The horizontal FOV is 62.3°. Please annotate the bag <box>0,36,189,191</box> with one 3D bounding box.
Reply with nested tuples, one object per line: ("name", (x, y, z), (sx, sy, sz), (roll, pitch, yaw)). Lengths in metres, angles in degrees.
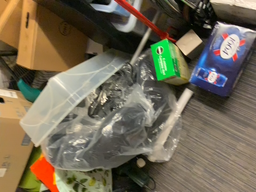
("bag", (-0.140, 0.120, 1.120), (0.550, 0.710, 0.550), (28, 102, 29))
